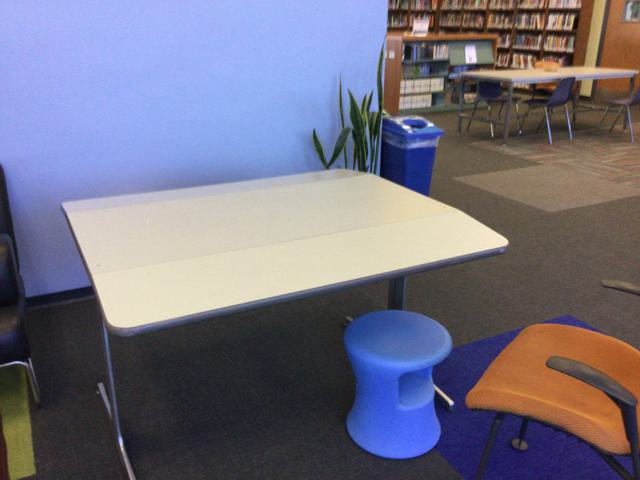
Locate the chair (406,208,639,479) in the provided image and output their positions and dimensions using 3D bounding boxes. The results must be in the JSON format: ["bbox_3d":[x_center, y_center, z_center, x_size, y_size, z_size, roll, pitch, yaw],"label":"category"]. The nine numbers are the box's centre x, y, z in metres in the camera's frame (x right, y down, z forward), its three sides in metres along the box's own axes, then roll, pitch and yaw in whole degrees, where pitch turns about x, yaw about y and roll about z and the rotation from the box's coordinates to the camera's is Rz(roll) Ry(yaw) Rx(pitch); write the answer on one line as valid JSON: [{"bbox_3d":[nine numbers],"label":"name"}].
[{"bbox_3d":[0.650,0.320,1.470,0.610,0.610,0.570,14,21,33],"label":"chair"}]

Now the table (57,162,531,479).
[{"bbox_3d":[-0.180,0.260,2.040,1.250,0.840,1.060,-6,20,-25],"label":"table"}]

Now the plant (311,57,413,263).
[{"bbox_3d":[0.210,-0.440,3.160,0.390,1.050,0.300,-6,20,-25],"label":"plant"}]
